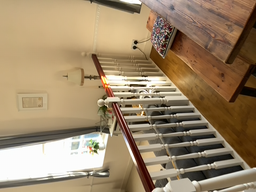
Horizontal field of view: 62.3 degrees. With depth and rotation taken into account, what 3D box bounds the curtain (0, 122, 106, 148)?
[{"bbox_3d":[-1.570,0.660,3.600,0.150,2.410,0.320,-119,36,-50],"label":"curtain"}]
